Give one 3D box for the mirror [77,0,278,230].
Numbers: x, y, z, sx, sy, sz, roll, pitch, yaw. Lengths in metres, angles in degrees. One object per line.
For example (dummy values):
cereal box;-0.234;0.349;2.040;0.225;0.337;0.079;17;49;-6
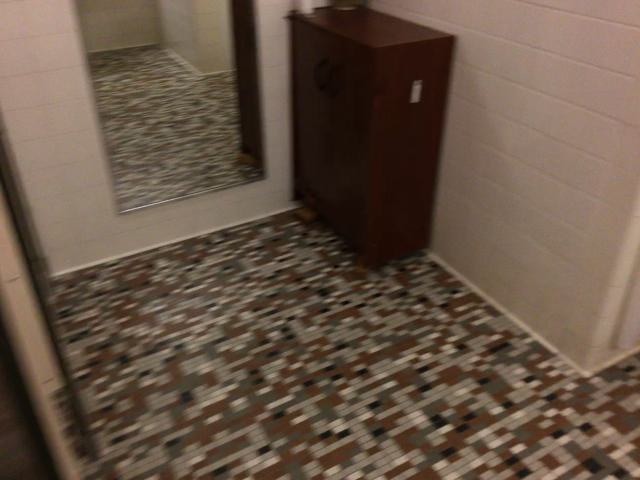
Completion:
mirror;-0.490;-0.530;2.160;0.620;0.890;0.140;-16;34;-24
